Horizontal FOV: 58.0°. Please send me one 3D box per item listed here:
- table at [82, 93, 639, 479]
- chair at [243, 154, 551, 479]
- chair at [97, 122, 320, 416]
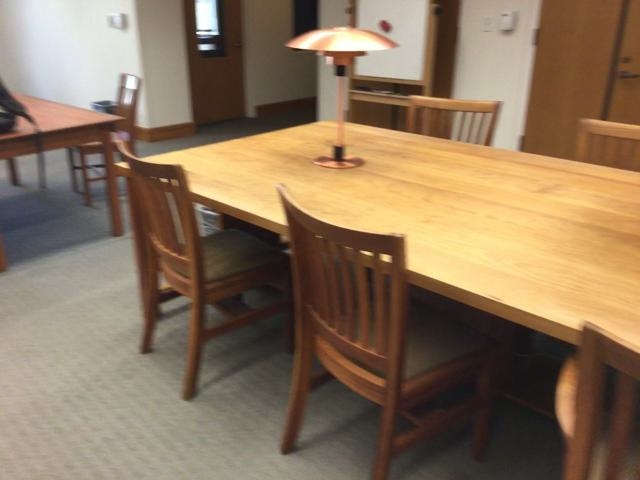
[{"bbox_3d":[0.540,0.140,2.140,2.780,0.910,1.490,21,28,39],"label":"table"},{"bbox_3d":[0.200,0.280,1.770,0.600,0.900,0.620,21,28,39],"label":"chair"},{"bbox_3d":[-0.430,0.060,2.300,0.590,0.910,0.570,21,28,39],"label":"chair"}]
